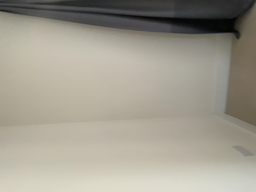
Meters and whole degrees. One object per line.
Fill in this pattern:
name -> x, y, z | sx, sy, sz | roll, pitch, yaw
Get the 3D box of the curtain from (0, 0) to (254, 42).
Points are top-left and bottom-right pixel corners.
curtain -> -0.020, -0.800, 1.940 | 0.260, 2.440, 0.580 | -129, 38, -72
